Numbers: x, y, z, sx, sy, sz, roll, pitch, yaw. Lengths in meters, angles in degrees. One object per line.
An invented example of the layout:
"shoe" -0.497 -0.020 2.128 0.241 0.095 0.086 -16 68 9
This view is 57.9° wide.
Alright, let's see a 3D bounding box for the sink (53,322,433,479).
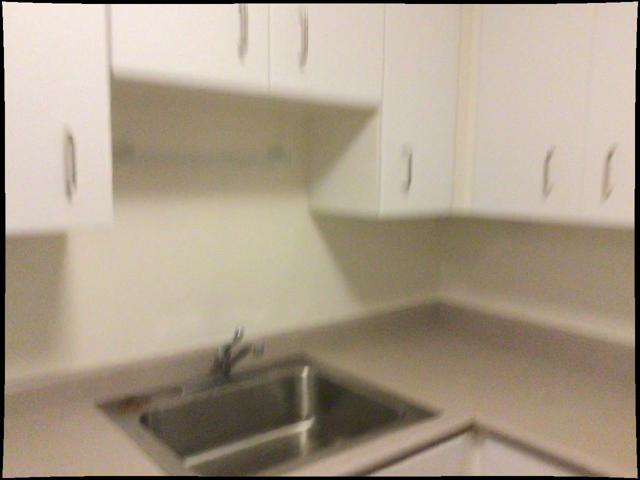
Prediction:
"sink" -0.180 0.460 1.340 0.670 0.300 0.560 -7 11 -37
